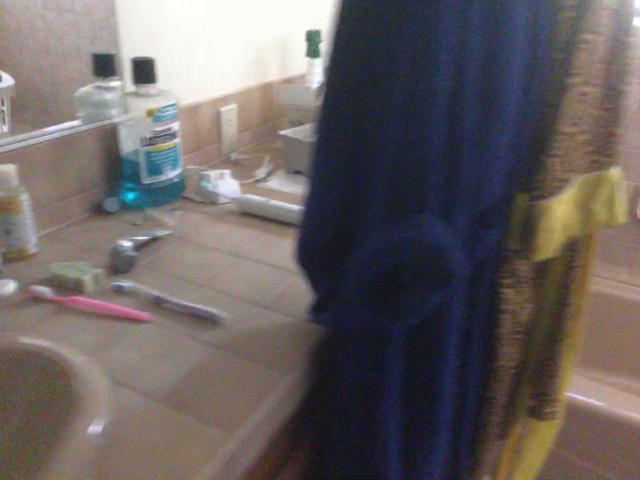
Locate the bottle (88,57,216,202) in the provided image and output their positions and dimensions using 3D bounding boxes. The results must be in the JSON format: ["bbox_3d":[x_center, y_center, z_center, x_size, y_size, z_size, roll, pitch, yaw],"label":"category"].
[{"bbox_3d":[-0.300,-0.210,1.070,0.110,0.220,0.180,12,27,25],"label":"bottle"}]
